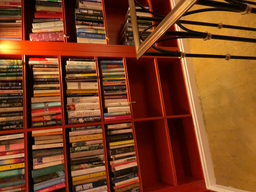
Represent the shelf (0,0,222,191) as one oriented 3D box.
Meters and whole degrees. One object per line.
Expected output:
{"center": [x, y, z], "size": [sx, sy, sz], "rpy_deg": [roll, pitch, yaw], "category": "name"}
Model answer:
{"center": [-0.480, -0.920, 2.000], "size": [0.460, 2.060, 3.690], "rpy_deg": [144, 121, -66], "category": "shelf"}
